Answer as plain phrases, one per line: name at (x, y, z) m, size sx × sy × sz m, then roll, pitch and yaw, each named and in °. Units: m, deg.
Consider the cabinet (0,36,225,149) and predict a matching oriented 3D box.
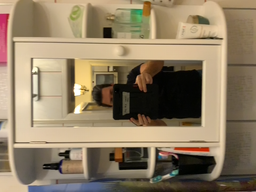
cabinet at (-0.040, -0.010, 0.640) m, size 0.170 × 0.590 × 0.290 m, roll -147°, pitch 57°, yaw -87°
